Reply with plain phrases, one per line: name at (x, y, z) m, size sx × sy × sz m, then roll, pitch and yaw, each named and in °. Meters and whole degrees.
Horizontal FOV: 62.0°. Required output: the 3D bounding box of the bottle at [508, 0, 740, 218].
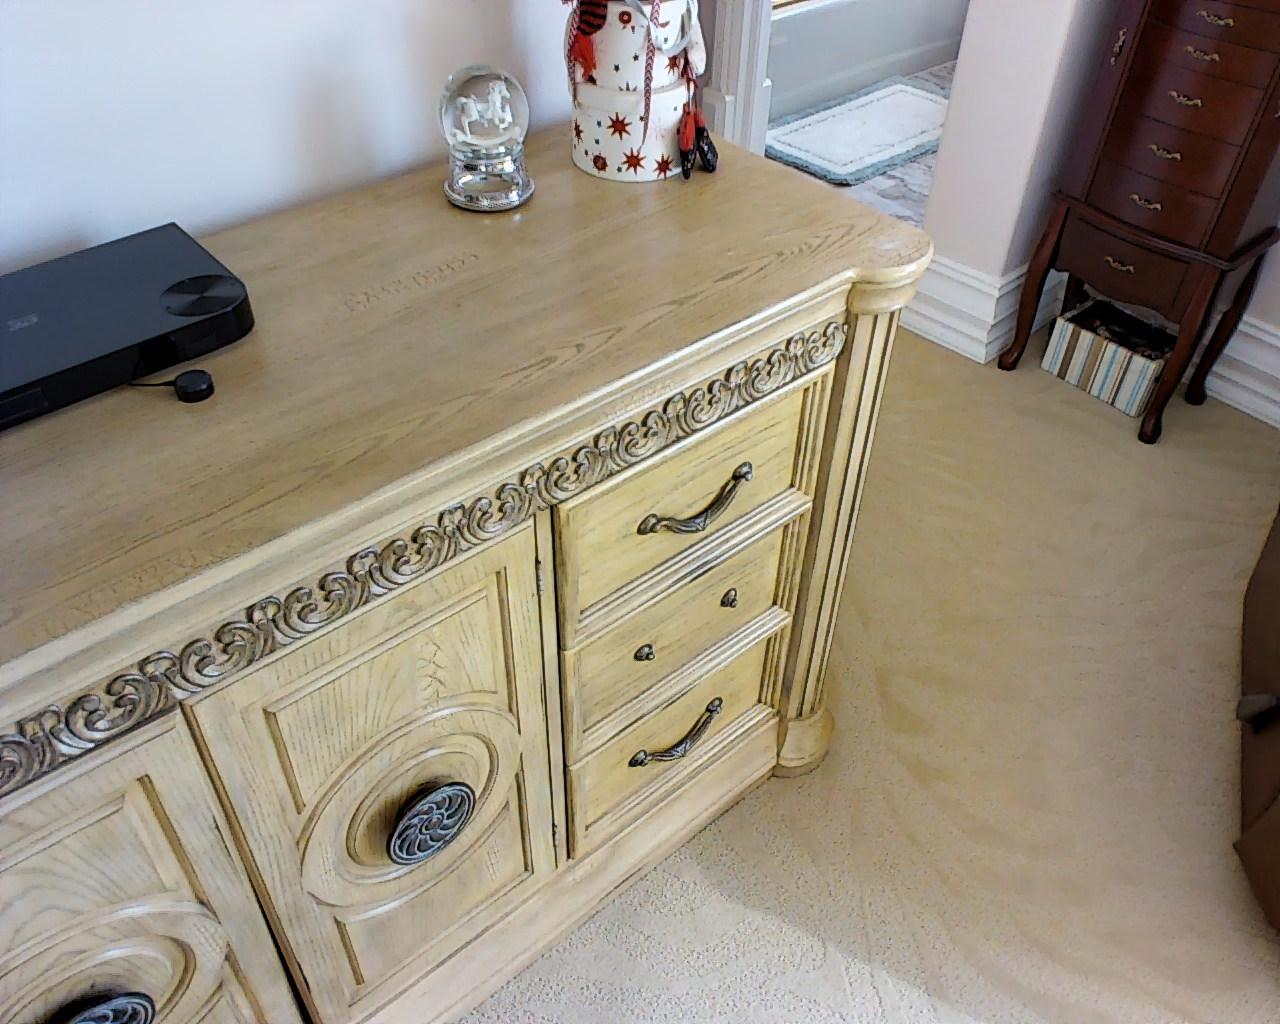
bottle at (-0.020, -0.540, 1.220) m, size 0.180 × 0.310 × 0.190 m, roll -29°, pitch 49°, yaw -29°

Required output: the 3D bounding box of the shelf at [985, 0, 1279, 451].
shelf at (1.140, -0.710, 2.230) m, size 0.350 × 1.010 × 0.480 m, roll -29°, pitch 49°, yaw -30°
